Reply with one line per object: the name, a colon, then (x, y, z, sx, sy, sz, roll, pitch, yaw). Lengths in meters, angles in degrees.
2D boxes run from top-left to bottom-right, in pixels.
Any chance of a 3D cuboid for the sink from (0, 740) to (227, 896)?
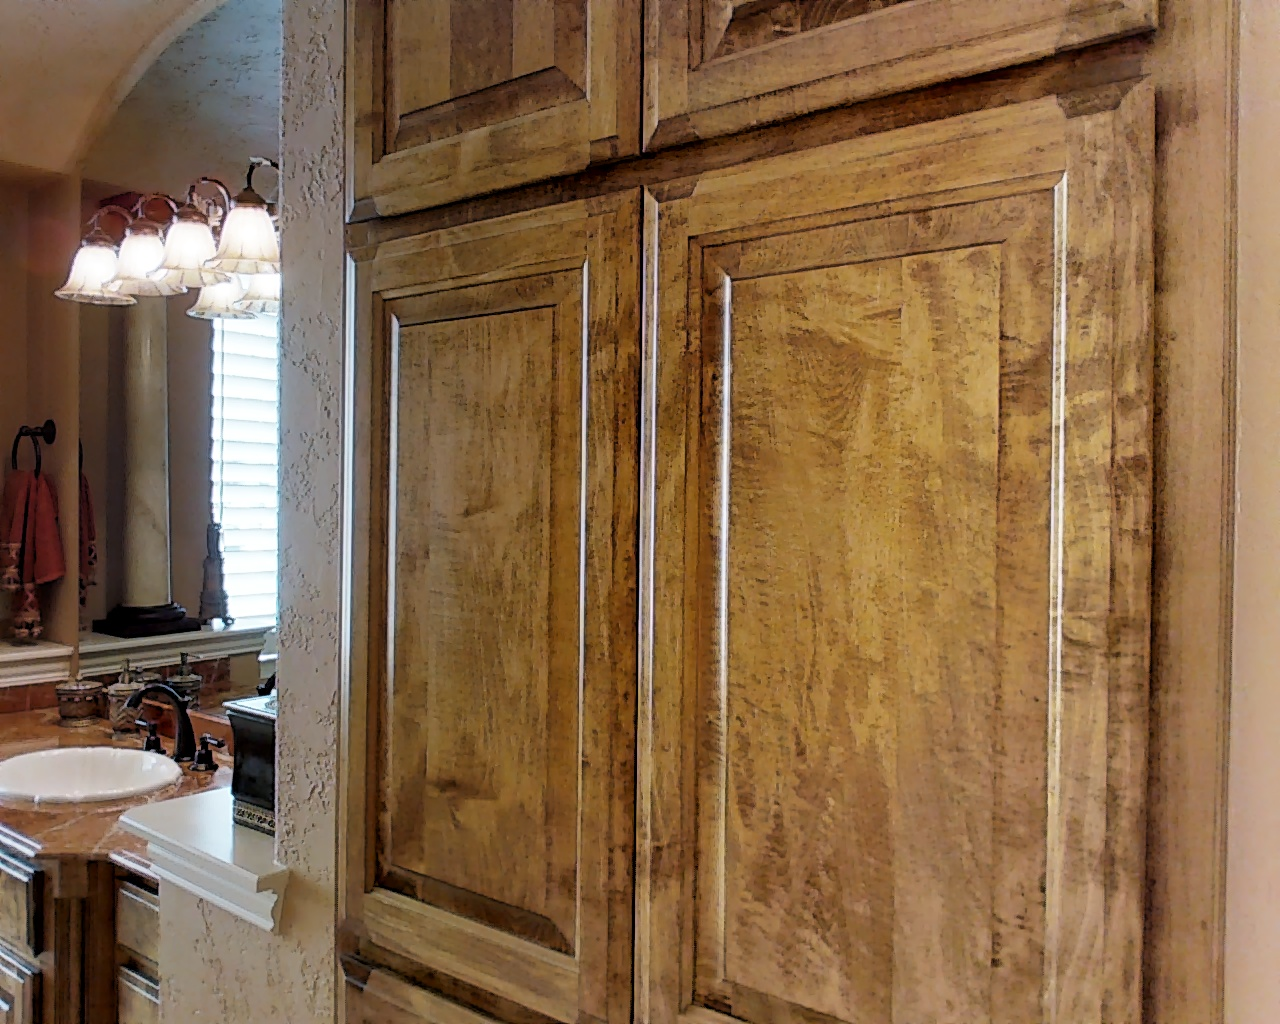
sink: (-1.150, 0.620, 2.250, 0.460, 0.160, 0.350, 1, 1, 39)
